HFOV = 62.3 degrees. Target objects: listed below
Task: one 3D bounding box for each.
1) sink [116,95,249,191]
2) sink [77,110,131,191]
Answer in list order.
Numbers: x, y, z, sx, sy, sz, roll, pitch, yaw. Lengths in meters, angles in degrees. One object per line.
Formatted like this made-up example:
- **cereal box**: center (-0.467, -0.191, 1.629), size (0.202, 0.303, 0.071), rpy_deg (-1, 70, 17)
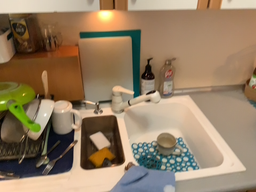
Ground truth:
- **sink**: center (0.180, 0.220, 0.970), size (0.410, 0.190, 0.490), rpy_deg (-4, 33, -9)
- **sink**: center (-0.110, 0.240, 0.930), size (0.190, 0.190, 0.320), rpy_deg (-4, 33, -9)
